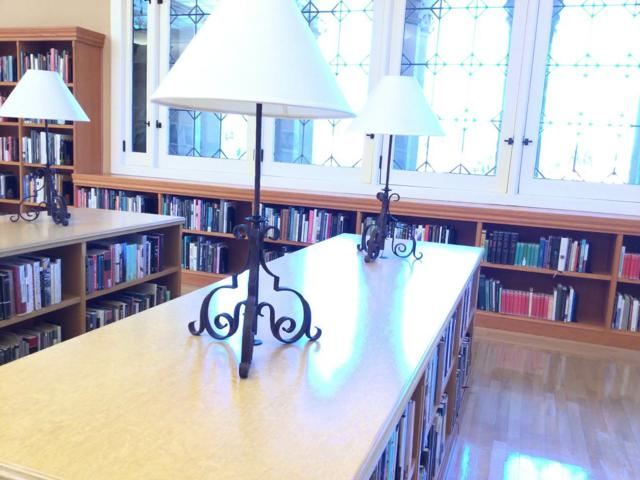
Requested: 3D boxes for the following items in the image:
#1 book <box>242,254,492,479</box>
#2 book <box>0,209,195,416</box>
[{"bbox_3d":[0.350,0.610,2.020,0.240,0.700,2.640,7,10,19],"label":"book"},{"bbox_3d":[-1.390,0.320,2.630,0.400,0.700,2.340,7,10,20],"label":"book"}]
